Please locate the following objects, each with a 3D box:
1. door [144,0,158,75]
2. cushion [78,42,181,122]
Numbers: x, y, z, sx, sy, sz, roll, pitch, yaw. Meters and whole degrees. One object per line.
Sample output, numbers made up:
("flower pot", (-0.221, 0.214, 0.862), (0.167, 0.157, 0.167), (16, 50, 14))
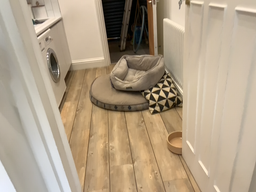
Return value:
("door", (0.290, -1.360, 2.900), (0.090, 1.980, 0.830), (-5, 28, 2))
("cushion", (-0.010, -0.250, 2.610), (0.980, 0.440, 1.150), (-7, 28, -2))
